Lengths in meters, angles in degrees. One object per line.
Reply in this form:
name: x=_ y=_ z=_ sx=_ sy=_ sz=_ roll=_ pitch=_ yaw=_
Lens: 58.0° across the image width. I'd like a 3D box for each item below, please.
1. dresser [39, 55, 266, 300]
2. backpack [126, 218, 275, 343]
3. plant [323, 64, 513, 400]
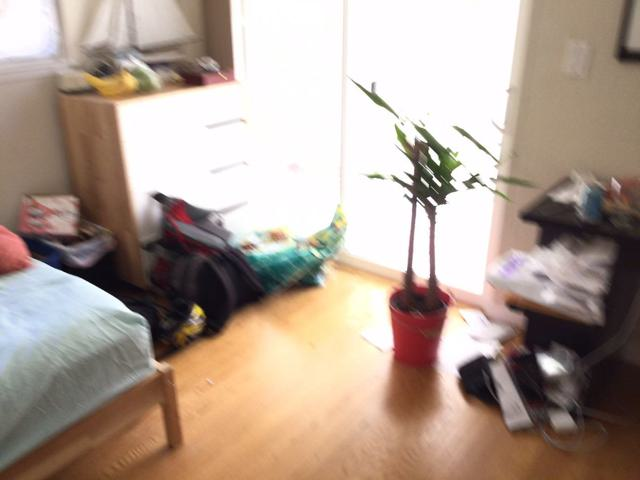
dresser: x=-0.830 y=-0.390 z=3.070 sx=0.570 sy=1.060 sz=0.850 roll=16 pitch=28 yaw=38
backpack: x=-0.570 y=0.170 z=2.830 sx=0.470 sy=0.360 sz=0.490 roll=12 pitch=26 yaw=32
plant: x=0.380 y=-0.060 z=2.300 sx=0.530 sy=1.180 sz=0.460 roll=12 pitch=26 yaw=32
